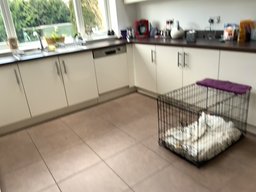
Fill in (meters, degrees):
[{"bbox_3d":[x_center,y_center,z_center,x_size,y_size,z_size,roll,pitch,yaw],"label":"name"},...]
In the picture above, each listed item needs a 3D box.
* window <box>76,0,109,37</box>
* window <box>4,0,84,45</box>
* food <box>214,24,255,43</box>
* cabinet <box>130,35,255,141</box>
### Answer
[{"bbox_3d":[-0.650,-1.590,3.830,0.470,0.960,0.210,-16,23,-27],"label":"window"},{"bbox_3d":[-1.350,-1.420,3.480,1.120,0.980,0.170,-16,23,-27],"label":"window"},{"bbox_3d":[1.250,-0.750,2.520,0.200,0.180,0.370,-18,25,-32],"label":"food"},{"bbox_3d":[1.060,-0.250,2.750,0.670,0.900,2.510,-18,25,-32],"label":"cabinet"}]
